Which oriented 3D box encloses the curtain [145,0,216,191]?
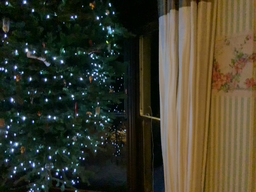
[{"bbox_3d":[0.480,0.110,2.120,0.210,3.400,0.700,-4,-174,-35],"label":"curtain"}]
